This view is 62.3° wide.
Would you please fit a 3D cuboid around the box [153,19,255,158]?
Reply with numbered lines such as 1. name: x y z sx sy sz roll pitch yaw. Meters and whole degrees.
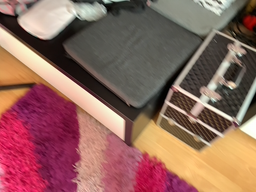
1. box: 0.370 -0.020 0.960 0.280 0.370 0.430 32 65 14

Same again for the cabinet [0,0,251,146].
1. cabinet: 0.010 -0.420 1.170 0.890 0.350 0.960 38 66 17
